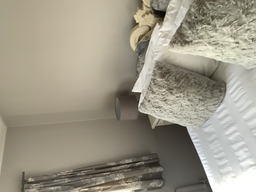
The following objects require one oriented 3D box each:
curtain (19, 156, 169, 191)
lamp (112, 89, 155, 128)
[{"bbox_3d":[-0.310,0.880,2.170,0.210,1.430,0.280,109,153,-54],"label":"curtain"},{"bbox_3d":[0.040,0.130,2.270,0.270,0.360,0.290,108,154,-52],"label":"lamp"}]
